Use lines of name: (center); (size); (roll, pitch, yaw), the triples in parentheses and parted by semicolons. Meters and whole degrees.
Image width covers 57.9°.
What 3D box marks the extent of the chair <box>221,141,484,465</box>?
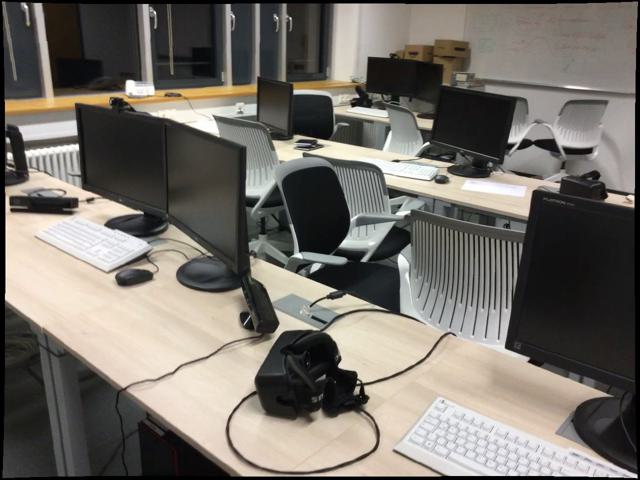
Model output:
chair: (0.120, 0.170, 2.250); (0.750, 0.931, 0.580); (17, 28, 39)

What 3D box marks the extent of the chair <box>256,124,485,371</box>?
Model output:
chair: (0.270, -0.040, 2.900); (0.680, 0.881, 0.890); (17, 28, 39)

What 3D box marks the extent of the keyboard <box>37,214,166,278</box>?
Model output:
keyboard: (-0.749, 0.010, 1.960); (0.470, 0.050, 0.210); (17, 28, 39)

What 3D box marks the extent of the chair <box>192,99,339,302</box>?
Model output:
chair: (-0.290, -0.260, 3.340); (0.580, 0.981, 0.540); (17, 28, 39)
